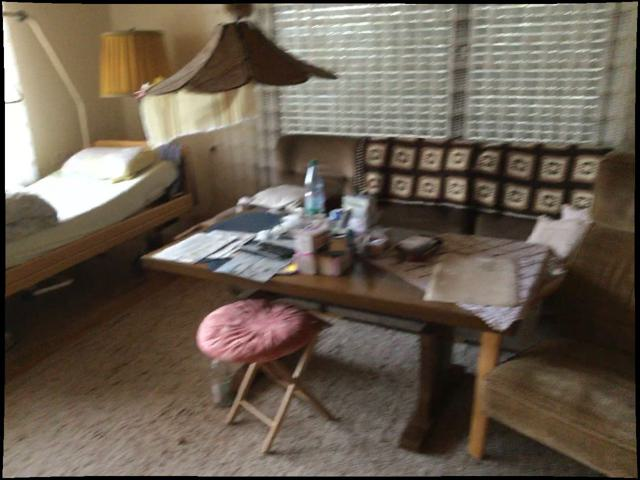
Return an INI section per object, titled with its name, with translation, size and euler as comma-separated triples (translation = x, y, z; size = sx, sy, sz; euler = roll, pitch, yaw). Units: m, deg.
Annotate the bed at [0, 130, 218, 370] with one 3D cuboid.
[bed]
translation = -1.758, -0.050, 3.490
size = 1.109, 0.791, 2.270
euler = 7, 23, 23
